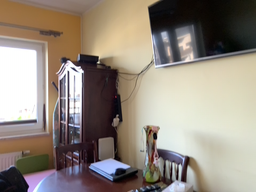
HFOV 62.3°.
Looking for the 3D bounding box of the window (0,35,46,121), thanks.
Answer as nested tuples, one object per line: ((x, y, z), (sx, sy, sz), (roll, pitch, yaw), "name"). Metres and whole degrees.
((-1.770, -0.220, 2.580), (1.450, 1.060, 0.160), (0, 1, -38), "window")
